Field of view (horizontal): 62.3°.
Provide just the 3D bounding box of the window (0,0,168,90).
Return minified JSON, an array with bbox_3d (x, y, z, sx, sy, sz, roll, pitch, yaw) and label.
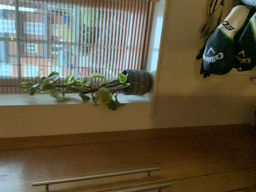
[{"bbox_3d":[-0.360,-0.590,1.000,0.100,1.210,1.130,-136,49,-63],"label":"window"}]
